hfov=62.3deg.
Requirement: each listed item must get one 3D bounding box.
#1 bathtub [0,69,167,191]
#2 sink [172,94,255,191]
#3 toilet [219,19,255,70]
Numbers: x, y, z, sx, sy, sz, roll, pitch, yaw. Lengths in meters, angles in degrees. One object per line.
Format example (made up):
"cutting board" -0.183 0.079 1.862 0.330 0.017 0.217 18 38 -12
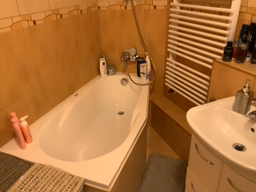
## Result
"bathtub" -0.200 0.310 1.950 0.810 0.560 1.450 8 30 19
"sink" 0.520 0.190 1.040 0.410 0.150 0.440 -14 30 -22
"toilet" 0.690 -0.310 1.250 0.140 0.240 0.210 -15 31 -23
